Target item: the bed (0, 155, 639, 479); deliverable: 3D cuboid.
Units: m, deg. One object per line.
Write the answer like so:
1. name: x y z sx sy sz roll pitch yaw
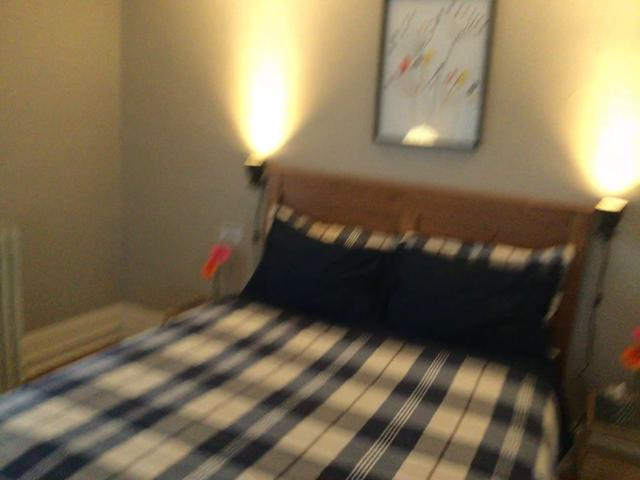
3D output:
1. bed: -0.040 0.510 2.000 1.890 1.410 2.190 11 12 28

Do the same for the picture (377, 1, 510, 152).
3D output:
1. picture: 0.560 -0.770 2.700 0.520 0.660 0.030 11 6 28

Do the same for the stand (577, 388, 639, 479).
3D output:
1. stand: 1.300 0.940 2.360 0.420 0.450 0.380 11 12 28
